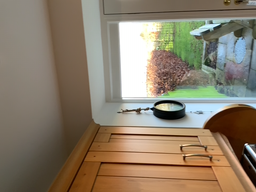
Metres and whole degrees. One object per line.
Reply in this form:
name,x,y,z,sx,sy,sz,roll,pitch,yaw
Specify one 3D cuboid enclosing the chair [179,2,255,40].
chair,1.550,-1.420,3.880,1.680,0.940,0.500,-79,-12,-67
